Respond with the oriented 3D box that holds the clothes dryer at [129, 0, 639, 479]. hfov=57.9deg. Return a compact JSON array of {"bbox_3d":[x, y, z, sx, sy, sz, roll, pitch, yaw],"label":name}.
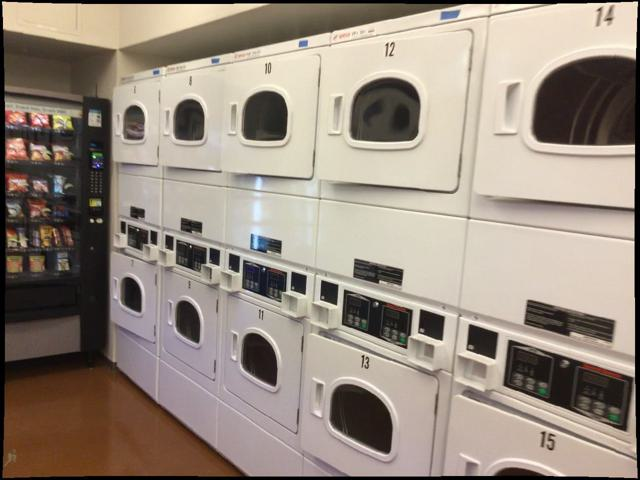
[{"bbox_3d":[0.160,0.080,2.510,0.820,2.062,2.959,-5,12,-40],"label":"clothes dryer"}]
